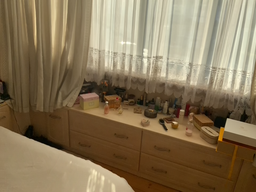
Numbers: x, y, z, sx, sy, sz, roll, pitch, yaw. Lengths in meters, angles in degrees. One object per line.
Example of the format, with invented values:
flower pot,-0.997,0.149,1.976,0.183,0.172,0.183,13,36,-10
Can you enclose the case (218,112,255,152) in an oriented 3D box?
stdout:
case,0.910,0.280,1.660,0.340,0.120,0.310,12,23,22
